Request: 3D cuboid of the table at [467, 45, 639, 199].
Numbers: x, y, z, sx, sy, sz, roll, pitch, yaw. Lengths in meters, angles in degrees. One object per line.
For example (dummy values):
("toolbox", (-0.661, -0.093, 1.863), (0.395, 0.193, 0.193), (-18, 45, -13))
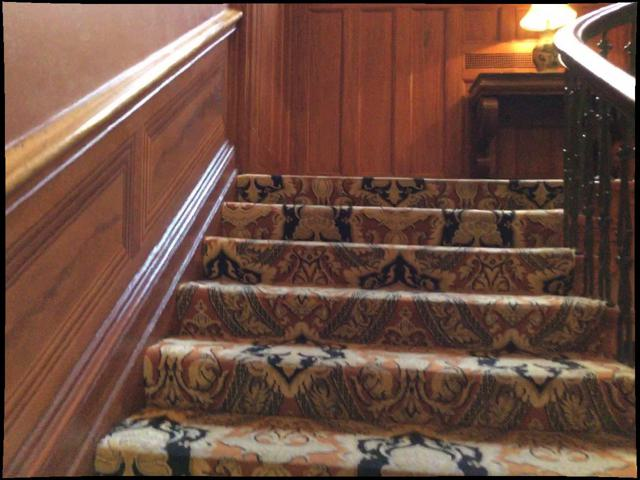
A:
("table", (1.588, -0.771, 3.910), (1.019, 0.921, 0.540), (2, 0, 3))
